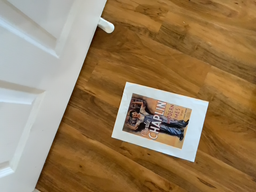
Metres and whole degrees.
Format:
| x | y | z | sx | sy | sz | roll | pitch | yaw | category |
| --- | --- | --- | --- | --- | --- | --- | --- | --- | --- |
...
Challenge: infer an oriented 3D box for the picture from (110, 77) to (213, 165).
| x | y | z | sx | sy | sz | roll | pitch | yaw | category |
| --- | --- | --- | --- | --- | --- | --- | --- | --- | --- |
| 0.110 | 0.080 | 0.730 | 0.300 | 0.020 | 0.230 | 14 | 87 | 9 | picture |
